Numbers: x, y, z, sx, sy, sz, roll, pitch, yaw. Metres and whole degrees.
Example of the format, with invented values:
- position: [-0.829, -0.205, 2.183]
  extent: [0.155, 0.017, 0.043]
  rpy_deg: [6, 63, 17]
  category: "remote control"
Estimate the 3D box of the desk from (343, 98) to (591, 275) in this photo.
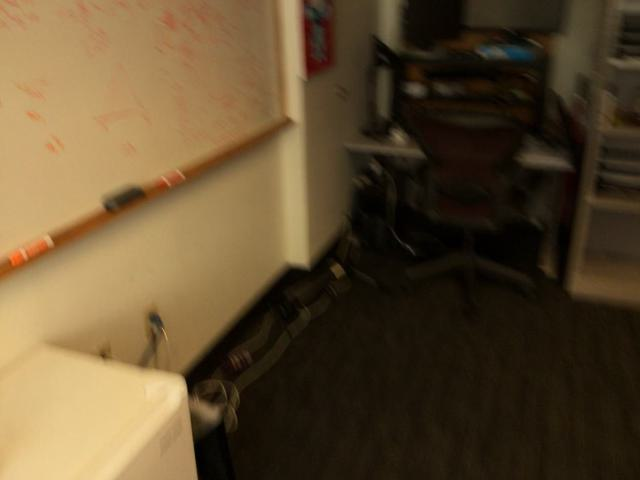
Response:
- position: [0.850, -0.370, 3.370]
  extent: [1.220, 0.730, 0.760]
  rpy_deg: [7, 26, 20]
  category: "desk"
